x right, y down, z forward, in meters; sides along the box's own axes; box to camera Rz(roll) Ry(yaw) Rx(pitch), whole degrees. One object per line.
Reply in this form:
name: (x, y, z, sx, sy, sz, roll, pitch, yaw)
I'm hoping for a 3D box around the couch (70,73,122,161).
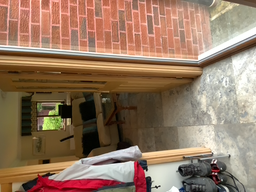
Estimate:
couch: (-0.800, 0.500, 4.870, 0.900, 0.880, 1.780, 139, 128, -61)
